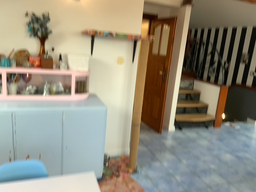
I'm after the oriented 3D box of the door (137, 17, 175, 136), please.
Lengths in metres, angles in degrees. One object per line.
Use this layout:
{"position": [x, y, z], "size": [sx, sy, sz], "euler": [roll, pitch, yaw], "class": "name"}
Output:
{"position": [0.480, -0.360, 4.000], "size": [0.110, 2.080, 0.720], "euler": [-1, 15, -25], "class": "door"}
